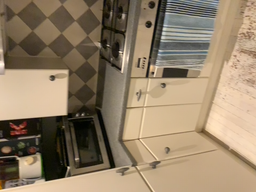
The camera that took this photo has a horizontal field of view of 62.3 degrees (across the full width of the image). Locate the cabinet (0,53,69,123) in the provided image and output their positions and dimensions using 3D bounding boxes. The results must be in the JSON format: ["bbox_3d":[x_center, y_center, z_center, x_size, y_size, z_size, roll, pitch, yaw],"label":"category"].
[{"bbox_3d":[-0.870,-0.070,1.460,0.380,0.830,0.370,-137,50,-55],"label":"cabinet"}]

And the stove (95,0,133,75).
[{"bbox_3d":[-0.120,-0.520,1.520,0.560,0.020,0.590,-137,50,-55],"label":"stove"}]
